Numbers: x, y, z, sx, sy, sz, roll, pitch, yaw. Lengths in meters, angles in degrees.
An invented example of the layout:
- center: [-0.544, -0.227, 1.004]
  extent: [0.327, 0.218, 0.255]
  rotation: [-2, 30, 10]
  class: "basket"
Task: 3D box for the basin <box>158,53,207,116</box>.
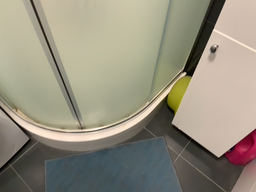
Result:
- center: [0.320, -0.060, 1.280]
  extent: [0.110, 0.300, 0.240]
  rotation: [36, 63, 19]
  class: "basin"
